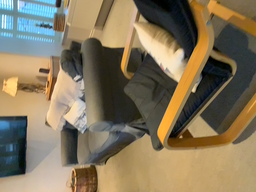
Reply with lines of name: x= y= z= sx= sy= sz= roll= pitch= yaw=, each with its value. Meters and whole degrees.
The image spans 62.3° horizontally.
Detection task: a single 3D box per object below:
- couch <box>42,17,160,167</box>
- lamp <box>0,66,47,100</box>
couch: x=-0.540 y=0.170 z=2.610 sx=1.890 sy=0.810 sz=0.940 roll=131 pitch=136 yaw=-52
lamp: x=-1.890 y=-0.210 z=3.810 sx=0.430 sy=0.760 sz=0.380 roll=128 pitch=138 yaw=-50
